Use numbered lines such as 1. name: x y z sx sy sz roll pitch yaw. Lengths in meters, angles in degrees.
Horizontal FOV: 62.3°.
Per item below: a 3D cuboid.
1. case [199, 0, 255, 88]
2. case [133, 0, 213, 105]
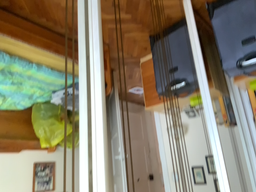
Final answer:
1. case: 0.820 -0.470 1.490 0.440 0.690 0.300 -18 158 38
2. case: 0.370 -0.360 1.900 0.520 0.750 0.320 -19 157 40
